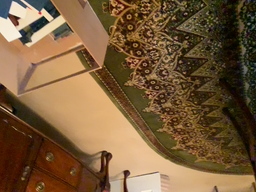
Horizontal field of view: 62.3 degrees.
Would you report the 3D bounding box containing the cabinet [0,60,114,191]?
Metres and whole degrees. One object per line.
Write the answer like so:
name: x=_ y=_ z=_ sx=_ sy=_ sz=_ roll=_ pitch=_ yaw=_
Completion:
cabinet: x=-0.740 y=0.600 z=1.630 sx=0.600 sy=0.940 sz=1.330 roll=-17 pitch=136 yaw=21
